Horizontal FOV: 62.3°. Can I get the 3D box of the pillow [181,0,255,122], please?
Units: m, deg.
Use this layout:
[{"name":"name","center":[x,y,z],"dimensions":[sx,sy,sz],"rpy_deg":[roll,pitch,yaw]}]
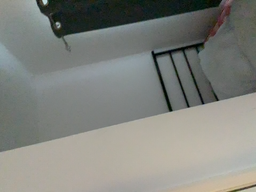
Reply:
[{"name":"pillow","center":[0.770,-0.330,1.610],"dimensions":[1.180,0.290,0.750],"rpy_deg":[83,174,-69]}]
